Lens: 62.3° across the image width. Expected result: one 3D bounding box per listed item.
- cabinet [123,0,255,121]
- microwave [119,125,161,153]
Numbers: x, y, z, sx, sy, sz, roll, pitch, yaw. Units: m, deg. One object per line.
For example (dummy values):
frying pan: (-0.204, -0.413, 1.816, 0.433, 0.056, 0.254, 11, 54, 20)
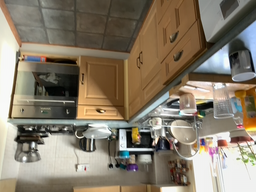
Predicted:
cabinet: (0.410, -0.370, 1.720, 0.600, 0.900, 1.480, 2, 163, -12)
microwave: (0.130, 0.530, 2.600, 0.430, 0.300, 0.300, 2, 163, -14)
